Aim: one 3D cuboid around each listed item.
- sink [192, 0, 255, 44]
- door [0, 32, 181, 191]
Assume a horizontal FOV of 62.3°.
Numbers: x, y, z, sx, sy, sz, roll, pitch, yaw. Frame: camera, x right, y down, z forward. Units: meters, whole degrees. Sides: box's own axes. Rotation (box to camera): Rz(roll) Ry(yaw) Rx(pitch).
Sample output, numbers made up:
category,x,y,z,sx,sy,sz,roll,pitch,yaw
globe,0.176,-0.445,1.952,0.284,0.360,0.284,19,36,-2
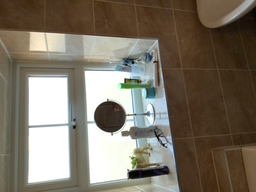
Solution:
category,x,y,z,sx,sy,sz,roll,pitch,yaw
sink,0.600,-0.620,1.140,0.570,0.180,0.430,136,130,-67
door,-0.270,0.150,1.330,0.360,0.980,0.960,137,129,-68
